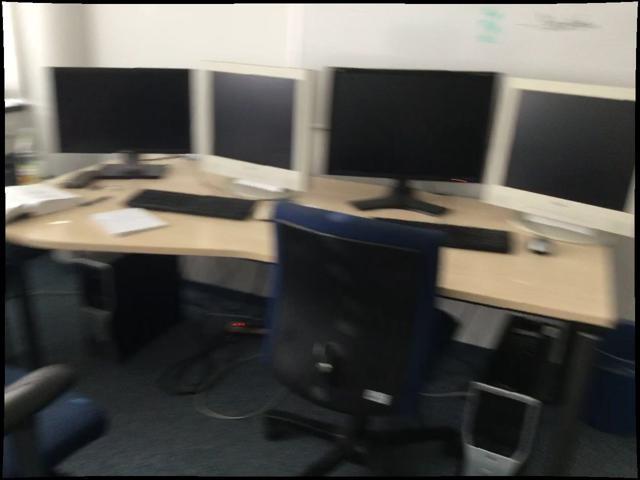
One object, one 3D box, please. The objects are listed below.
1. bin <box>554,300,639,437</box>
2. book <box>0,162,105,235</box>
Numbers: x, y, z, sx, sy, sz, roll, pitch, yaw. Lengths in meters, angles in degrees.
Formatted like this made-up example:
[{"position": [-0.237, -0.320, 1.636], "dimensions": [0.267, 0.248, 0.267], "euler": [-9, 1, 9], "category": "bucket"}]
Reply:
[{"position": [1.049, 0.450, 2.050], "dimensions": [0.340, 0.300, 0.310], "euler": [11, 25, 22], "category": "bin"}, {"position": [-0.999, -0.140, 1.890], "dimensions": [0.360, 0.080, 0.420], "euler": [17, 28, 33], "category": "book"}]
